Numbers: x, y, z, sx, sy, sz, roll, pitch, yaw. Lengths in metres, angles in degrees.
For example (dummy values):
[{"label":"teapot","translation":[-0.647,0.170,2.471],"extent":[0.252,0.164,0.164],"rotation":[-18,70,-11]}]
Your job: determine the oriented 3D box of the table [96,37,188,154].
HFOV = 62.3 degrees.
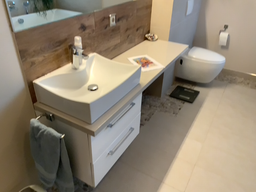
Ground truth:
[{"label":"table","translation":[0.170,-0.070,2.130],"extent":[0.450,0.740,0.940],"rotation":[19,37,25]}]
